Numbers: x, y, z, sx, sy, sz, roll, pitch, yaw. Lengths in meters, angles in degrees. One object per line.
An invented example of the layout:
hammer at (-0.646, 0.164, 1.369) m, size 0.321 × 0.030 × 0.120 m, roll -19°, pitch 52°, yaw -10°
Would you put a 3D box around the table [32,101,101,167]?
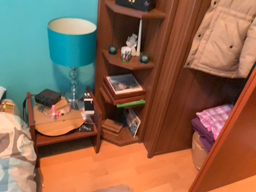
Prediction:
table at (-0.480, 0.270, 1.630) m, size 0.430 × 0.240 × 0.370 m, roll -7°, pitch 38°, yaw -24°
